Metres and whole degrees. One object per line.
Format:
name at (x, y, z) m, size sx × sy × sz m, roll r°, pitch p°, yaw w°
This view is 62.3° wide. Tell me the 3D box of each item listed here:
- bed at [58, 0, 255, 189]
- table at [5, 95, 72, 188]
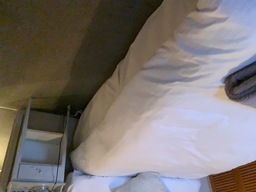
bed at (0.490, 0.150, 1.600) m, size 1.410 × 0.650 × 2.030 m, roll 14°, pitch 143°, yaw -27°
table at (-0.730, 0.380, 1.790) m, size 0.380 × 0.680 × 0.260 m, roll 14°, pitch 143°, yaw -27°
